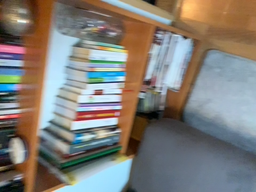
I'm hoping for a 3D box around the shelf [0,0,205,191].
[{"bbox_3d":[-0.470,-0.010,0.550,0.280,2.360,0.660,23,108,37],"label":"shelf"}]

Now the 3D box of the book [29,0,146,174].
[{"bbox_3d":[-0.180,-0.070,0.870,0.260,0.290,0.630,23,109,37],"label":"book"}]

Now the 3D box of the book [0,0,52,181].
[{"bbox_3d":[-0.410,-0.030,0.630,0.210,0.210,0.540,25,110,37],"label":"book"}]
